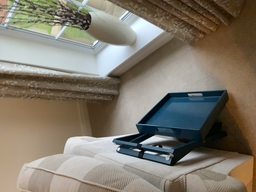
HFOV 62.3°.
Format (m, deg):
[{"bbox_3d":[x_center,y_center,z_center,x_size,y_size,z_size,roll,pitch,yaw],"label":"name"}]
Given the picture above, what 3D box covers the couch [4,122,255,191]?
[{"bbox_3d":[0.020,0.780,1.100,1.110,0.930,1.090,5,91,45],"label":"couch"}]
